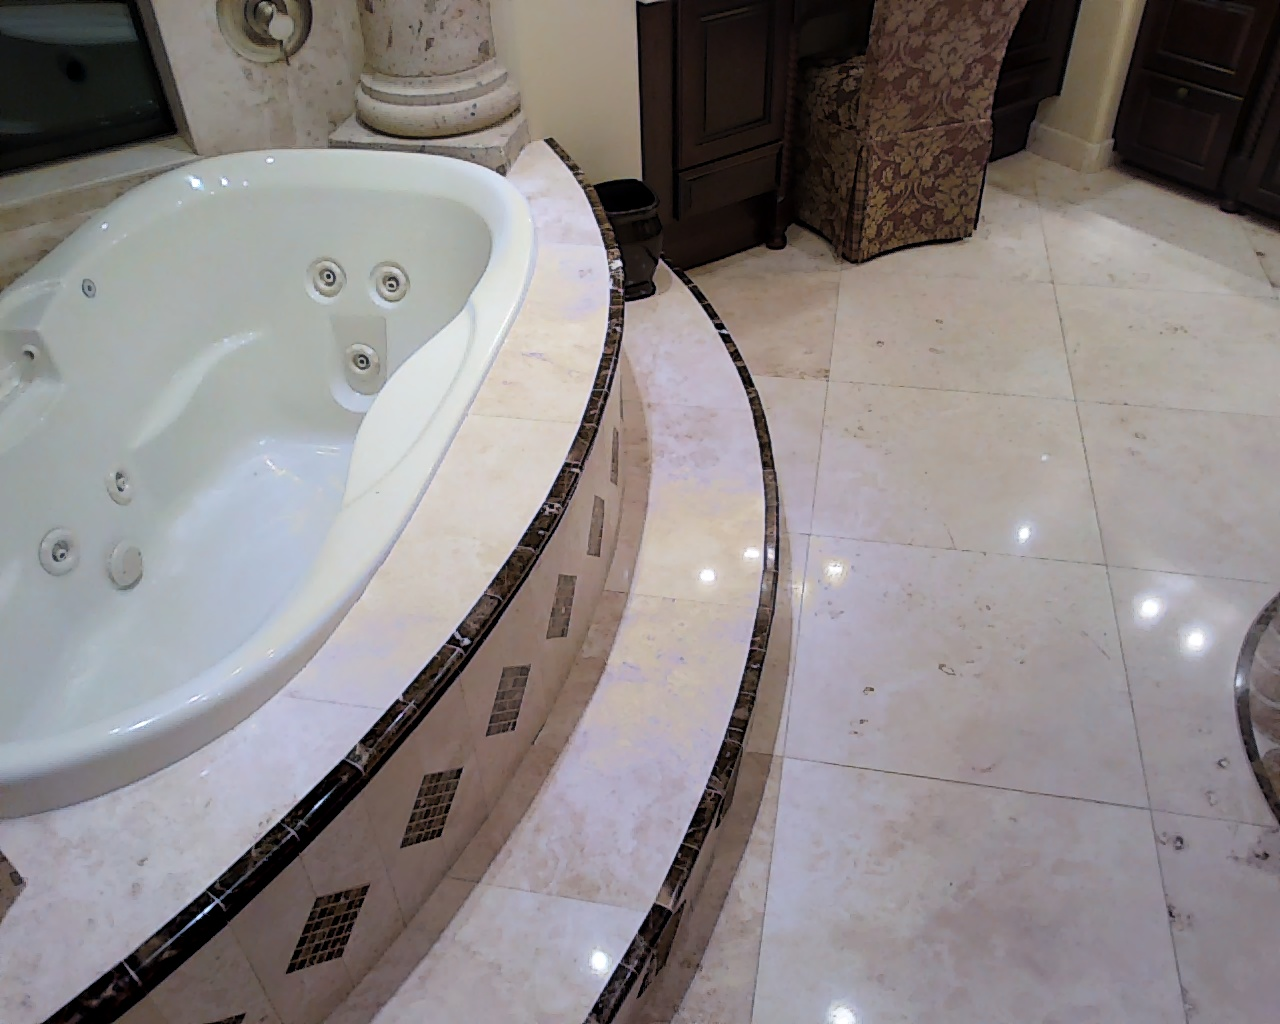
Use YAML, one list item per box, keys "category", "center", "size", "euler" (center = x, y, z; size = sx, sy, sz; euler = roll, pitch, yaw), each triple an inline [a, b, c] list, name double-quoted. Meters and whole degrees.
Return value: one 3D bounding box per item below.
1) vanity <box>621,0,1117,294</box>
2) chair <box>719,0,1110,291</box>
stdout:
- category: "vanity"
  center: [0.750, -1.309, 3.200]
  size: [1.780, 0.810, 0.180]
  euler: [-24, 46, -24]
- category: "chair"
  center: [0.760, -1.379, 3.090]
  size: [0.690, 1.070, 0.810]
  euler: [-23, 46, -23]
